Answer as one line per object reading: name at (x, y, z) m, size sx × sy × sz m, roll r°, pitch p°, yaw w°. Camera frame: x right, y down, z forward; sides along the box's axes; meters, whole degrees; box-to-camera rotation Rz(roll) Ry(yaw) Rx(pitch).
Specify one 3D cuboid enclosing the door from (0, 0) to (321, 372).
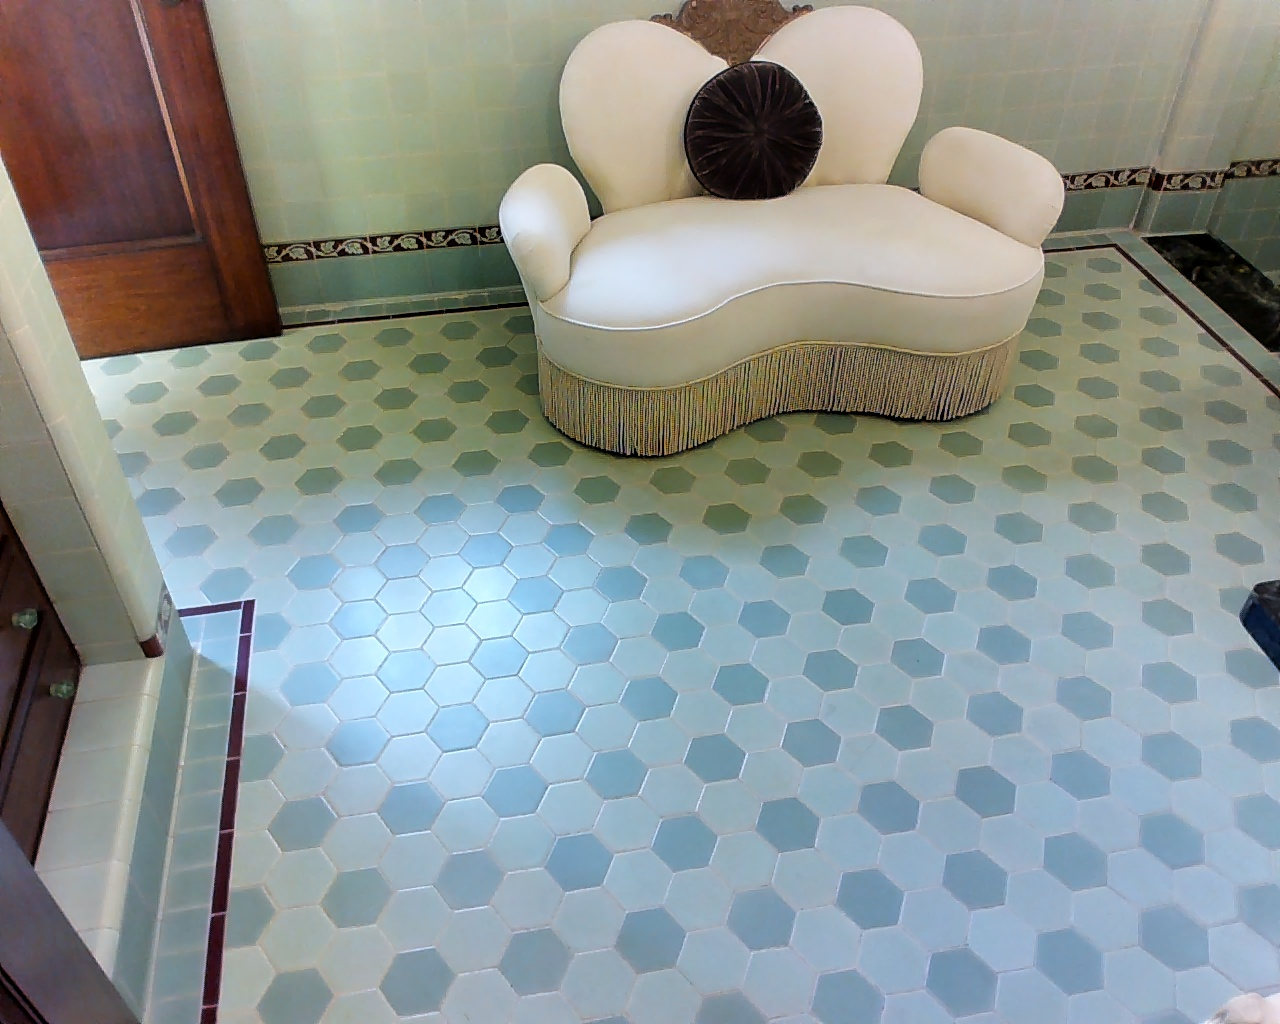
door at (-1.320, -1.310, 2.180) m, size 0.890 × 2.290 × 0.060 m, roll -9°, pitch 42°, yaw -11°
